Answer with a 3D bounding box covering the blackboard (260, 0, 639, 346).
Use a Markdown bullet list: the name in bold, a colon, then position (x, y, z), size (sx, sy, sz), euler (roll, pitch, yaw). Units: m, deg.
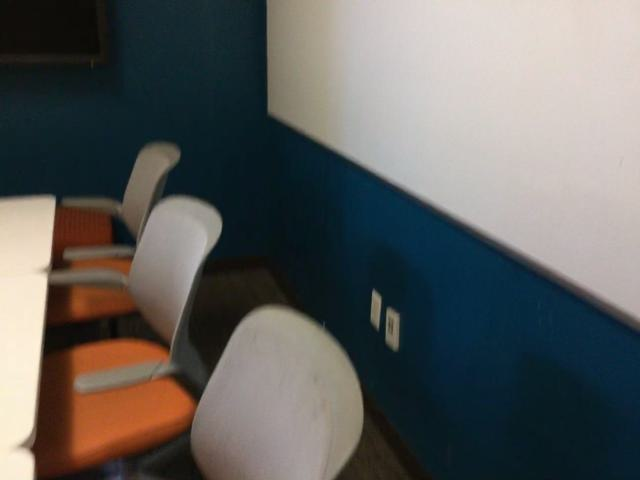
- **blackboard**: position (0.150, -0.730, 1.830), size (0.060, 1.130, 2.330), euler (-5, 21, -20)
